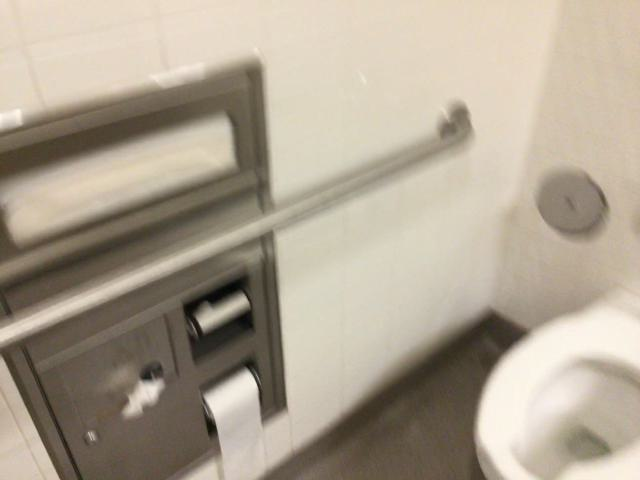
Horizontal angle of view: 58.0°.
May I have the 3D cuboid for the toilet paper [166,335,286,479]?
[{"bbox_3d":[-0.180,0.390,1.170,0.160,0.350,0.120,-25,39,-29],"label":"toilet paper"}]
